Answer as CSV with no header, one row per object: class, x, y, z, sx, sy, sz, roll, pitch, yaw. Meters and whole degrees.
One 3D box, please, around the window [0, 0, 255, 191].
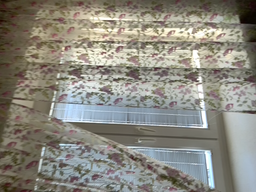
window,-0.020,0.030,1.440,0.300,1.600,1.570,98,174,-67
